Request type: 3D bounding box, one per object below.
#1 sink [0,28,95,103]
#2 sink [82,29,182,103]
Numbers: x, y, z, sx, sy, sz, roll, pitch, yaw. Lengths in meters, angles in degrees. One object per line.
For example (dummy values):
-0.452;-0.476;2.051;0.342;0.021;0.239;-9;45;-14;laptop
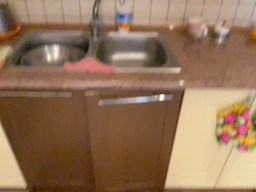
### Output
-0.390;-0.180;1.110;0.380;0.190;0.460;0;37;-2;sink
0.010;-0.180;1.130;0.420;0.190;0.460;0;37;-2;sink
